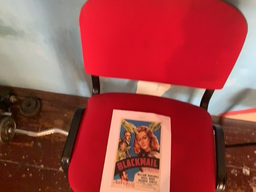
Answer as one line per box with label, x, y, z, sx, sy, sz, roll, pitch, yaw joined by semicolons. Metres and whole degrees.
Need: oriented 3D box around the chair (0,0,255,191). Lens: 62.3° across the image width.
chair;0.060;0.140;0.800;0.510;0.830;0.540;7;62;3
